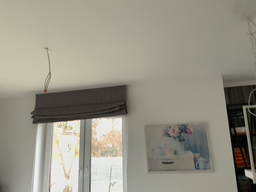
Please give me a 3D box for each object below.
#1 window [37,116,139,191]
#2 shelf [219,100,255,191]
[{"bbox_3d":[-0.630,1.010,3.270,1.560,1.290,0.200,-5,-14,13],"label":"window"},{"bbox_3d":[1.480,1.240,2.580,0.350,2.320,0.490,-5,-14,14],"label":"shelf"}]
